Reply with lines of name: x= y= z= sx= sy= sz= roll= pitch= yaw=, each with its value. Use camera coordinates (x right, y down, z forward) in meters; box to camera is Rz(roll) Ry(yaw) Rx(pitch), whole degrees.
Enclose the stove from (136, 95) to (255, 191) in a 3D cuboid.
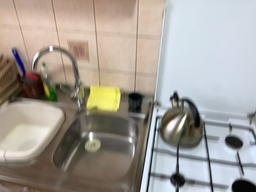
stove: x=0.330 y=0.270 z=0.960 sx=0.510 sy=0.180 sz=0.610 roll=7 pitch=35 yaw=9
